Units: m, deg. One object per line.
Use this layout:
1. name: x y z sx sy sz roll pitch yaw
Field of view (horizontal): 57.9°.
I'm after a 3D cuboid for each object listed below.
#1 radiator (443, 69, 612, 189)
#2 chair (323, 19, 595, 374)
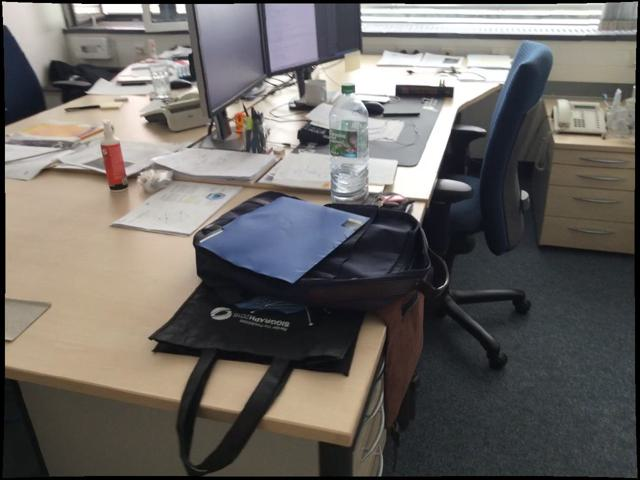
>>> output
1. radiator: 1.159 -0.661 3.340 0.809 0.530 0.450 6 30 15
2. chair: 0.450 -0.190 2.010 0.689 1.001 0.650 6 30 15
